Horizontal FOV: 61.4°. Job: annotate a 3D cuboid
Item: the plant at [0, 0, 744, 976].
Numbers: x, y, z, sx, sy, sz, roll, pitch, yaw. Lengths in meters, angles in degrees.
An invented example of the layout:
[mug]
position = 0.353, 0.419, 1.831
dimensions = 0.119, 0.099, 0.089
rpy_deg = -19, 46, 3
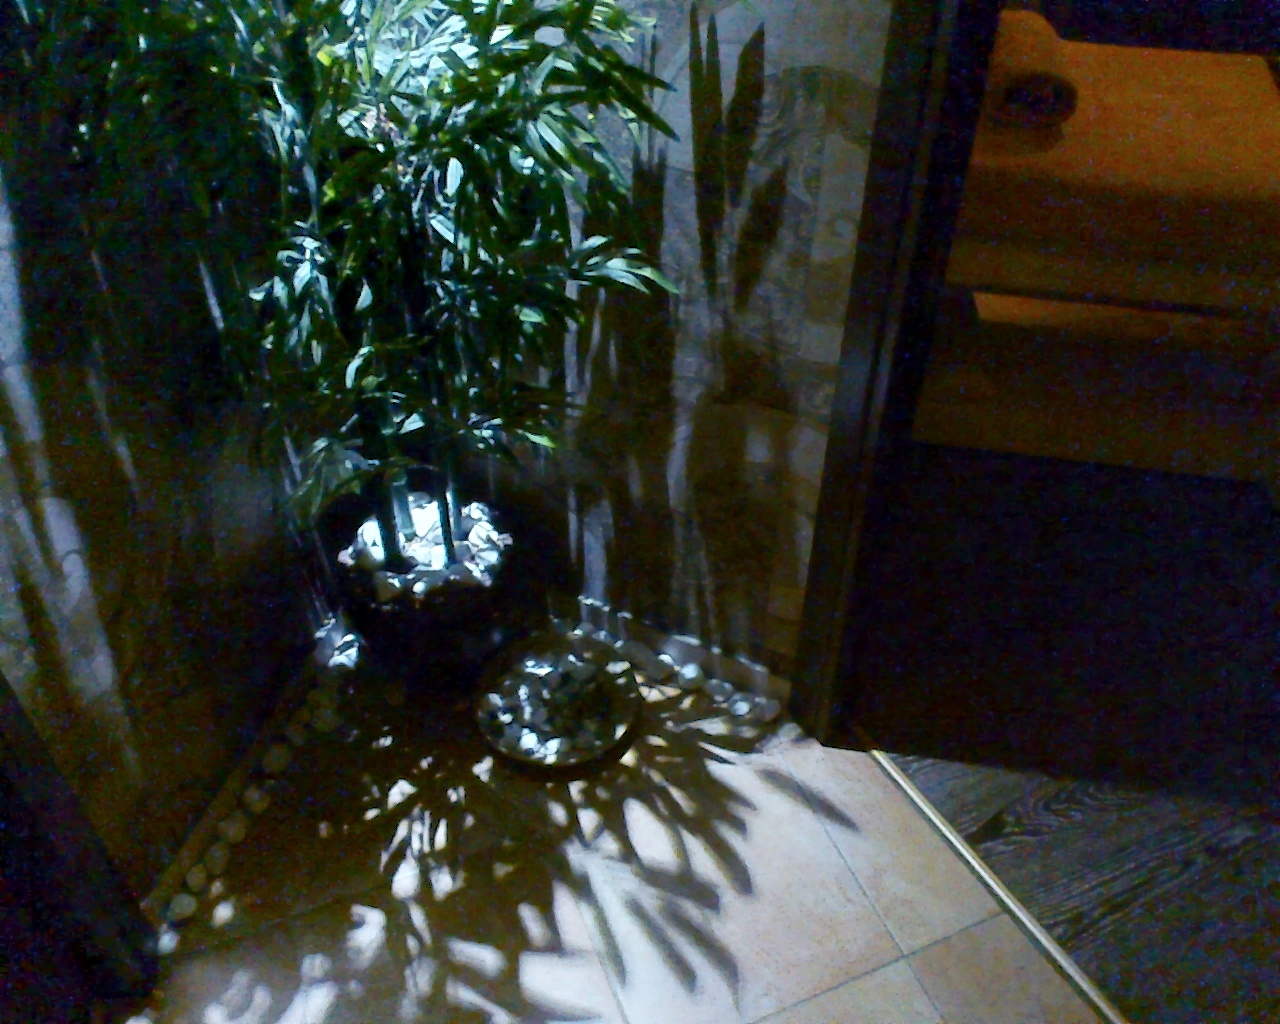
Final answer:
[plant]
position = -0.300, -0.340, 1.310
dimensions = 0.690, 2.010, 0.740
rpy_deg = 11, 43, 11
